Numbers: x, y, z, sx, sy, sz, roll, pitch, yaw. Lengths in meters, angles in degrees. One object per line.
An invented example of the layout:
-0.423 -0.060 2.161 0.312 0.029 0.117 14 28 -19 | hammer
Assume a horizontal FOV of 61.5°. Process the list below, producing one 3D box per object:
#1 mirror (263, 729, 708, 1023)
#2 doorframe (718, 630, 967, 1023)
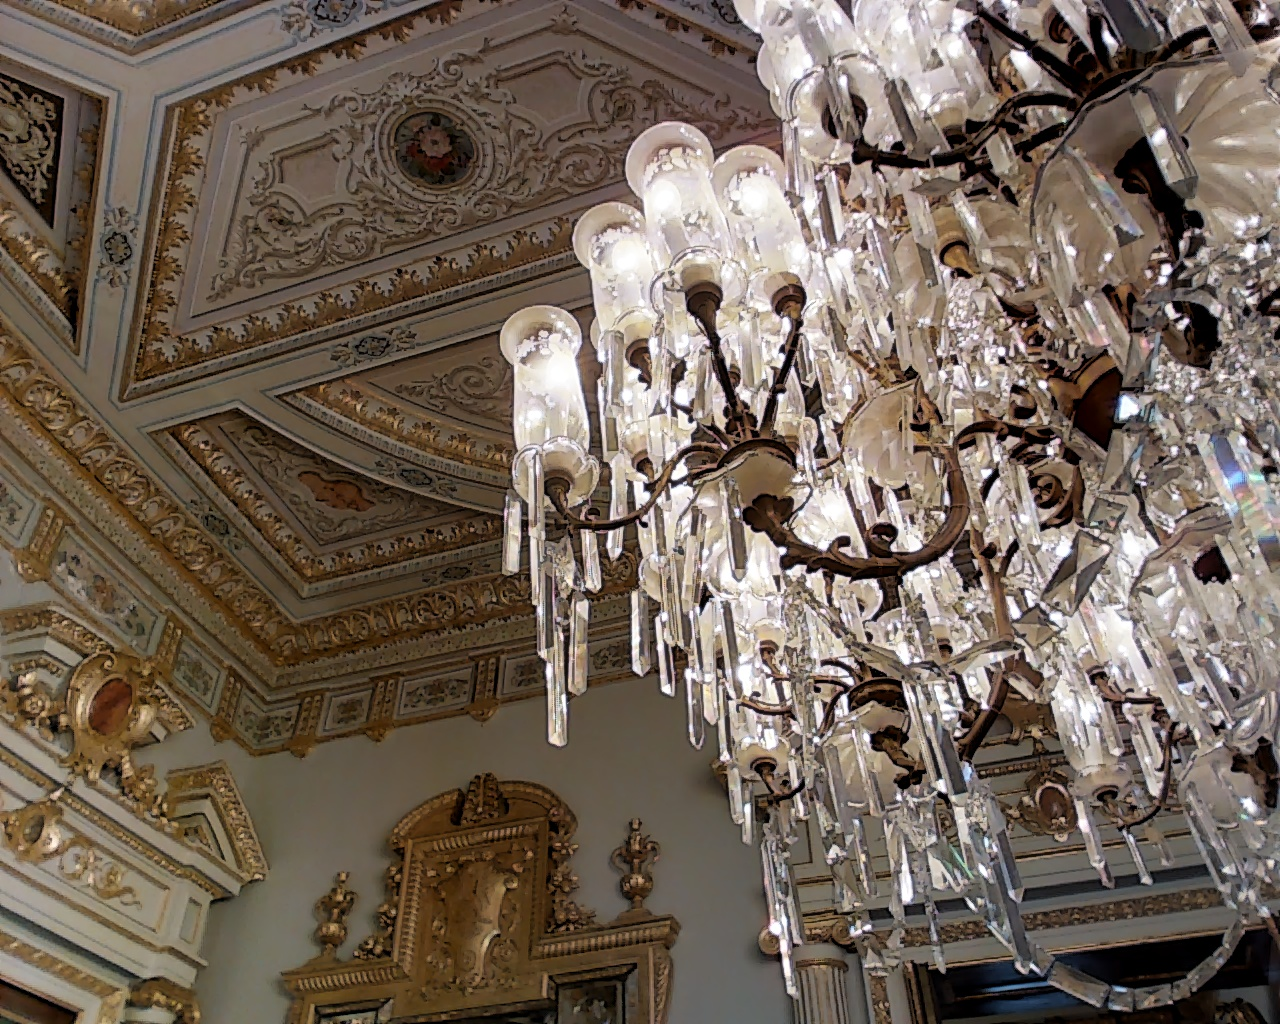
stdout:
-0.749 2.622 4.560 2.139 3.341 0.200 -14 -44 15 | mirror
0.839 2.522 3.730 0.820 4.712 0.410 -14 -44 15 | doorframe
